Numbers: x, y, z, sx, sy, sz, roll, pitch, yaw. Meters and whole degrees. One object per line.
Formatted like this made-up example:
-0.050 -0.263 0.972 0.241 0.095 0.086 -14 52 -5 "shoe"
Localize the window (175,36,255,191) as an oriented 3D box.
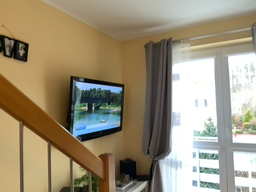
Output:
1.330 0.480 2.830 1.260 2.410 0.230 -3 -3 25 "window"
